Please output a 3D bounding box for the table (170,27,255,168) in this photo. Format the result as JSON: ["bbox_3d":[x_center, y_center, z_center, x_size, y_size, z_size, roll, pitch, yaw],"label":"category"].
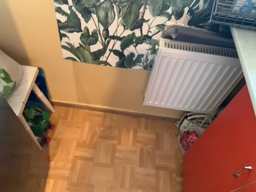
[{"bbox_3d":[0.590,0.110,1.060,0.540,0.850,0.190,9,56,-2],"label":"table"}]

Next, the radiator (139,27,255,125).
[{"bbox_3d":[0.350,-0.060,1.120,0.500,0.550,0.110,10,55,-1],"label":"radiator"}]

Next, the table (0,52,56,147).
[{"bbox_3d":[-0.610,0.040,1.190,0.250,0.450,0.320,8,56,-2],"label":"table"}]
